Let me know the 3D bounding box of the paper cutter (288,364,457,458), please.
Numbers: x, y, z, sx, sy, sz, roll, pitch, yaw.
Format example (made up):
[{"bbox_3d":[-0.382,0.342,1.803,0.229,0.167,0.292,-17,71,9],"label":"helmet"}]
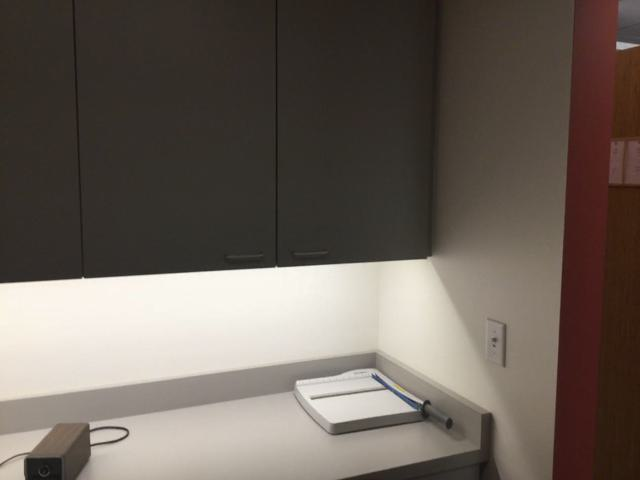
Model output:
[{"bbox_3d":[0.140,0.510,1.800,0.340,0.060,0.480,-4,7,-22],"label":"paper cutter"}]
